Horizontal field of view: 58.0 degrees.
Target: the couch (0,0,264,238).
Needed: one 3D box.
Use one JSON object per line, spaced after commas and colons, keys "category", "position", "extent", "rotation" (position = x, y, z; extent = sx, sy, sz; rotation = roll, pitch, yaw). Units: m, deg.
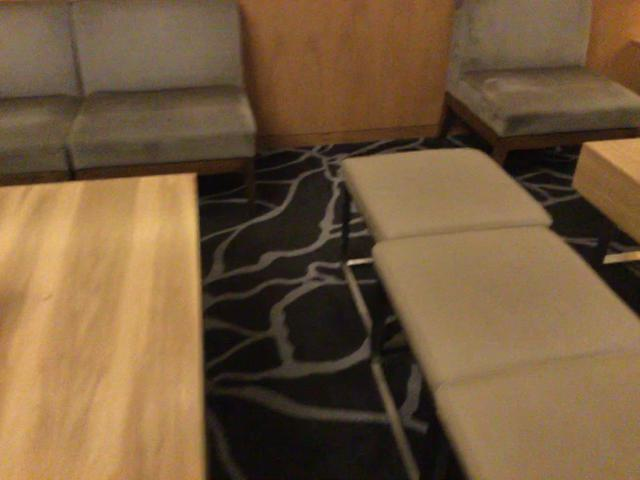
{"category": "couch", "position": [-1.000, -0.560, 2.370], "extent": [1.470, 0.830, 0.690], "rotation": [-3, 33, -11]}
